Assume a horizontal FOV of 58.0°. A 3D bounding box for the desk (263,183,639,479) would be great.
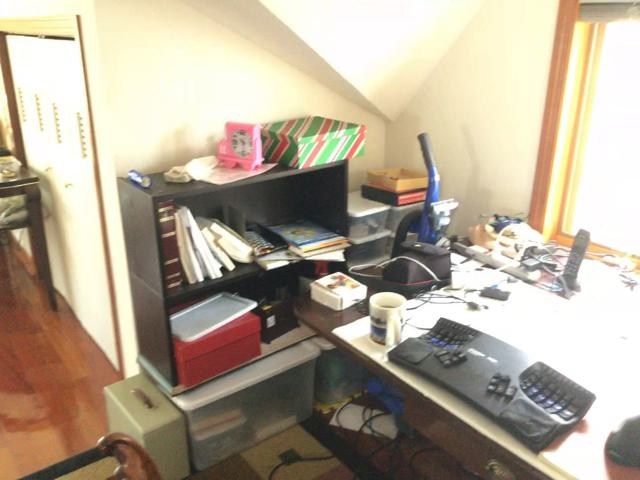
[{"bbox_3d":[0.770,0.530,1.500,1.110,0.920,1.630,-14,23,-33],"label":"desk"}]
